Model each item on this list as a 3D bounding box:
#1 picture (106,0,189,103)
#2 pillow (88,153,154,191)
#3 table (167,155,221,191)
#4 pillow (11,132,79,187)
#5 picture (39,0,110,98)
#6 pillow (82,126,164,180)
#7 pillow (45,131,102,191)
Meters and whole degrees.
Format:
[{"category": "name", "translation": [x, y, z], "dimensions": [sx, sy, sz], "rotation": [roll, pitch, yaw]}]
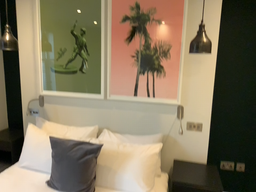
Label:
[{"category": "picture", "translation": [0.160, -0.470, 2.010], "dimensions": [0.750, 1.040, 0.050], "rotation": [3, 10, 11]}, {"category": "pillow", "translation": [-0.050, 0.630, 1.760], "dimensions": [0.520, 0.280, 0.130], "rotation": [0, -14, 7]}, {"category": "table", "translation": [0.570, 0.980, 1.970], "dimensions": [0.410, 0.680, 0.420], "rotation": [4, 10, 12]}, {"category": "pillow", "translation": [-0.780, 0.570, 1.990], "dimensions": [0.600, 0.400, 0.160], "rotation": [2, -8, 21]}, {"category": "picture", "translation": [-0.550, -0.530, 2.190], "dimensions": [0.720, 1.050, 0.100], "rotation": [4, 11, 13]}, {"category": "pillow", "translation": [-0.030, 0.540, 2.030], "dimensions": [0.710, 0.400, 0.170], "rotation": [5, -25, 8]}, {"category": "pillow", "translation": [-0.440, 0.570, 1.750], "dimensions": [0.370, 0.440, 0.260], "rotation": [6, 11, 26]}]
